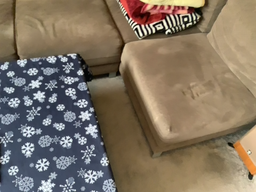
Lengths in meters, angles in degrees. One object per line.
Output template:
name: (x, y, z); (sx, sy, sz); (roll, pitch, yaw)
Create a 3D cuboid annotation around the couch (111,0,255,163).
couch: (0.490, -0.230, 1.340); (0.940, 1.020, 0.720); (-11, 55, -18)
